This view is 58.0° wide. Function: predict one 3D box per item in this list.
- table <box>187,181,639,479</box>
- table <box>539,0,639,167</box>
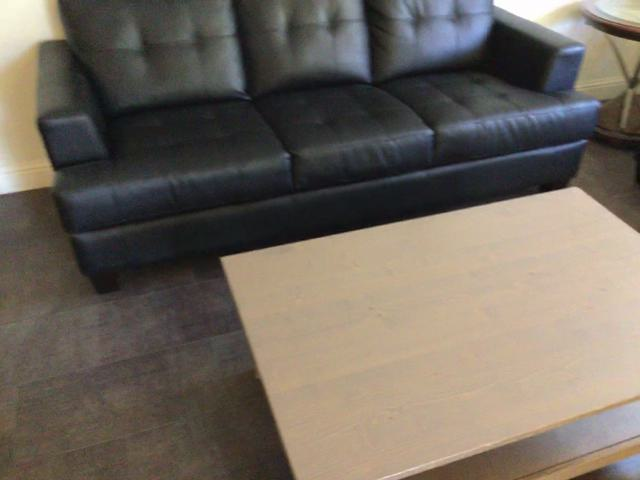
[{"bbox_3d":[0.320,0.320,1.580,1.210,0.490,0.770,-9,37,-14],"label":"table"},{"bbox_3d":[1.680,-0.900,2.830,0.690,0.720,0.760,-10,37,-14],"label":"table"}]
